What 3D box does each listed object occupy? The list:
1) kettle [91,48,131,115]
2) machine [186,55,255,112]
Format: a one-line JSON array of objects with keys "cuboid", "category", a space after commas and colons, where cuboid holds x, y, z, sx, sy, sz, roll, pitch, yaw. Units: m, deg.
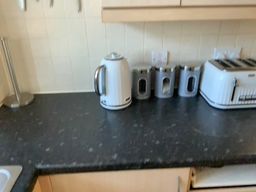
[{"cuboid": [-0.080, -0.080, 1.070, 0.170, 0.270, 0.210, -3, 26, -4], "category": "kettle"}, {"cuboid": [0.510, -0.080, 1.110, 0.310, 0.180, 0.310, -2, 26, -2], "category": "machine"}]
